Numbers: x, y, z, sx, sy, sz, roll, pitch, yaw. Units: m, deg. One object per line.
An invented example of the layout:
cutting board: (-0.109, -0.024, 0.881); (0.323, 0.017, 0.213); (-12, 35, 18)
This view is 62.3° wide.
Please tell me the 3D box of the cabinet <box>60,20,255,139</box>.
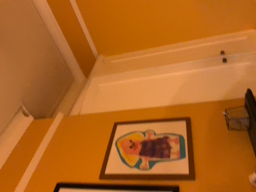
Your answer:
cabinet: (0.390, -0.190, 2.180); (1.160, 1.850, 0.330); (-78, -25, -47)
